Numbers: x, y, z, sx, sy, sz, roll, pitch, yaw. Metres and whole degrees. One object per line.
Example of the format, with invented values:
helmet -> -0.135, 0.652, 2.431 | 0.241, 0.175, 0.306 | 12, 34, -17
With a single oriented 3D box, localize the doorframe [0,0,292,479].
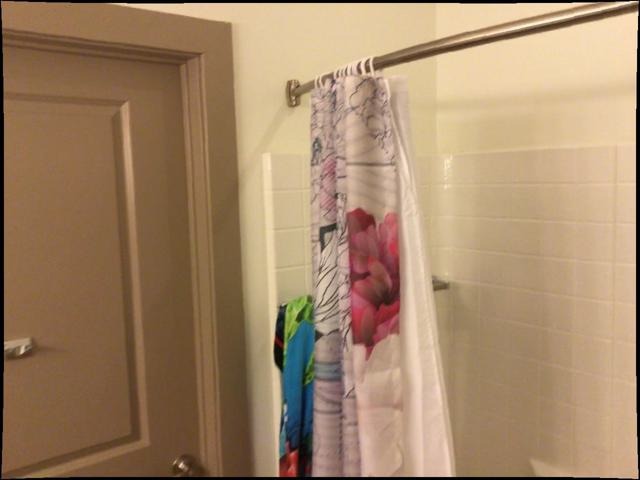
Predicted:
doorframe -> -0.638, 0.491, 1.350 | 1.198, 2.095, 0.250 | -6, 11, -35
